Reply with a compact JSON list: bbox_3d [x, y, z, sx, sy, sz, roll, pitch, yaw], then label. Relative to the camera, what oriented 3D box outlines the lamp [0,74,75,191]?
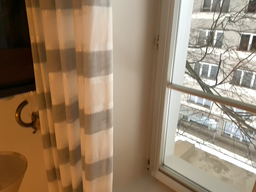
[{"bbox_3d":[-0.570,0.280,1.000,0.500,0.630,0.320,-18,-150,-42],"label":"lamp"}]
